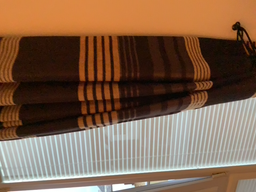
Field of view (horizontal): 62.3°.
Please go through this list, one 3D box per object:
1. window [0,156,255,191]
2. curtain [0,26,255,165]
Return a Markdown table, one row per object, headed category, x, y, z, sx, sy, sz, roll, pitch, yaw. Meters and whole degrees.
| category | x | y | z | sx | sy | sz | roll | pitch | yaw |
| --- | --- | --- | --- | --- | --- | --- | --- | --- | --- |
| window | 0.350 | 0.860 | 1.300 | 0.050 | 2.160 | 1.120 | -107 | 17 | -66 |
| curtain | 0.240 | -0.020 | 0.820 | 0.180 | 2.130 | 0.450 | -107 | 17 | -65 |
